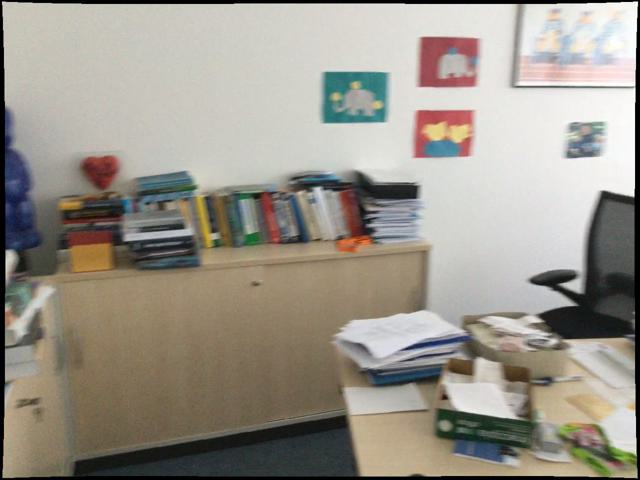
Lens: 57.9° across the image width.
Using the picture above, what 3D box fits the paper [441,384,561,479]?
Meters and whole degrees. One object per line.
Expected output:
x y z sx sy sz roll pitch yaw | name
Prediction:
0.400 0.440 1.330 0.230 0.070 0.270 2 16 10 | paper
